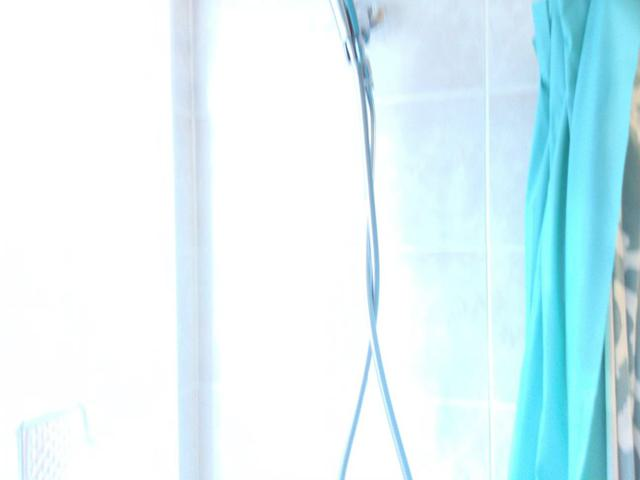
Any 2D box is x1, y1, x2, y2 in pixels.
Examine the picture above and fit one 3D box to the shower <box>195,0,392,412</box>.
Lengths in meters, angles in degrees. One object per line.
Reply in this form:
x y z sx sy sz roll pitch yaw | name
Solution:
-0.010 -0.190 0.810 0.150 0.740 0.400 -1 -1 16 | shower
